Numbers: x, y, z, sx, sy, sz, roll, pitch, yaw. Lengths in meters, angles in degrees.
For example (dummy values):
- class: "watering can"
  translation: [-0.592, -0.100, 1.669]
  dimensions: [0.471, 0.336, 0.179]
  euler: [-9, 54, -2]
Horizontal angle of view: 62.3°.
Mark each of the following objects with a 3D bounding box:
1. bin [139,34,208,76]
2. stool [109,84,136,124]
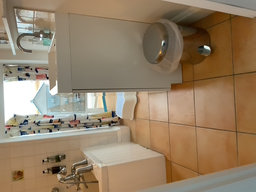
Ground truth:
- class: "bin"
  translation: [0.280, -0.240, 1.330]
  dimensions: [0.230, 0.340, 0.200]
  euler: [172, 95, -65]
- class: "stool"
  translation: [-0.070, 0.080, 2.320]
  dimensions: [0.310, 0.140, 0.330]
  euler: [-133, 46, -54]
